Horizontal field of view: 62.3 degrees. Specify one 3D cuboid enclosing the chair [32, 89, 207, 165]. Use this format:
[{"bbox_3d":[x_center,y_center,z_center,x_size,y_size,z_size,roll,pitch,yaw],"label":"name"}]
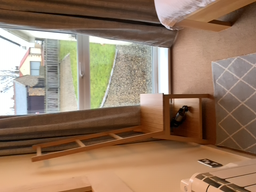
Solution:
[{"bbox_3d":[-0.030,0.180,1.730,0.410,1.370,0.450,178,91,-66],"label":"chair"}]
